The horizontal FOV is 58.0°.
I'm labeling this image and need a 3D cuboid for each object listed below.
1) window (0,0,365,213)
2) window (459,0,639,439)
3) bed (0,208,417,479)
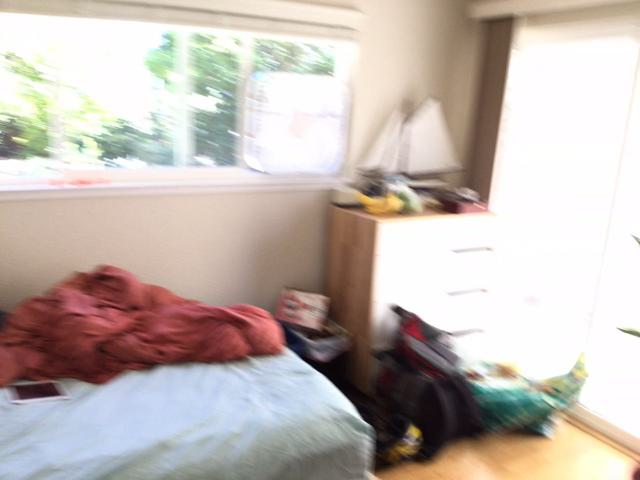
[{"bbox_3d":[-0.730,-0.730,2.740,2.010,1.050,0.420,-7,12,-30],"label":"window"},{"bbox_3d":[1.380,-0.230,2.460,0.450,2.010,1.650,-7,12,-30],"label":"window"},{"bbox_3d":[-0.960,0.570,2.000,2.040,1.060,1.520,-7,12,-30],"label":"bed"}]
